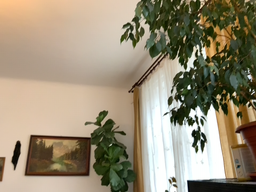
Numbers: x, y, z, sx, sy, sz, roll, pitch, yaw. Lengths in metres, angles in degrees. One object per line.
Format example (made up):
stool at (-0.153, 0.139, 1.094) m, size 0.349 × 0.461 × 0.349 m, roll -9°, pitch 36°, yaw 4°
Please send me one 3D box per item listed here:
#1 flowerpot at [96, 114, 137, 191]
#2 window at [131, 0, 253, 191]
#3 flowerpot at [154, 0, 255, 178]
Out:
flowerpot at (-0.240, 1.180, 3.730) m, size 0.620 × 1.540 × 0.890 m, roll 2°, pitch -20°, yaw -8°
window at (0.530, 0.460, 2.840) m, size 0.250 × 2.390 × 2.150 m, roll 5°, pitch -20°, yaw -18°
flowerpot at (0.630, -0.300, 1.070) m, size 0.780 × 1.300 × 0.630 m, roll 3°, pitch -20°, yaw -12°
